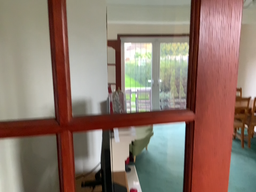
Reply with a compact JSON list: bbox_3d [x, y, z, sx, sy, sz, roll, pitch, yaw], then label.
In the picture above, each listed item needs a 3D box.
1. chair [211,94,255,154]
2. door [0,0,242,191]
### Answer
[{"bbox_3d":[1.900,0.480,3.850,0.470,0.930,0.540,-2,10,-7],"label":"chair"},{"bbox_3d":[-0.100,0.570,0.520,0.720,2.050,0.040,-3,11,-15],"label":"door"}]
